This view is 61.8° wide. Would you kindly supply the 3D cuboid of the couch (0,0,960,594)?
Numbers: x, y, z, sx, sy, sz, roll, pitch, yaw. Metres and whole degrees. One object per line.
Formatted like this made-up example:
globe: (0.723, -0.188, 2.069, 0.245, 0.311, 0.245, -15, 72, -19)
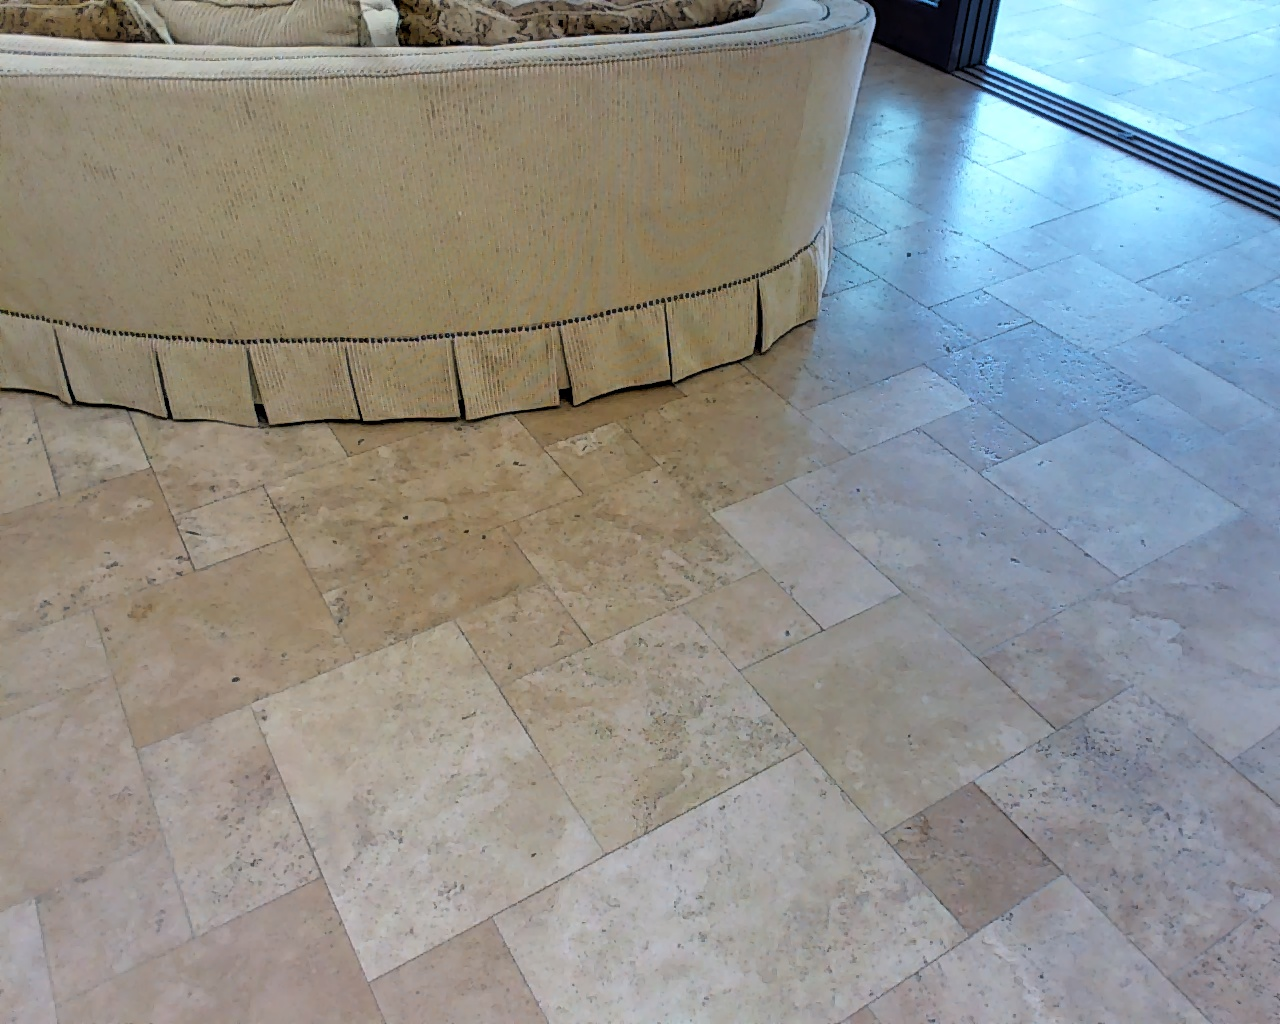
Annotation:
couch: (-1.301, -1.249, 3.090, 4.071, 0.850, 2.080, 13, 43, 15)
